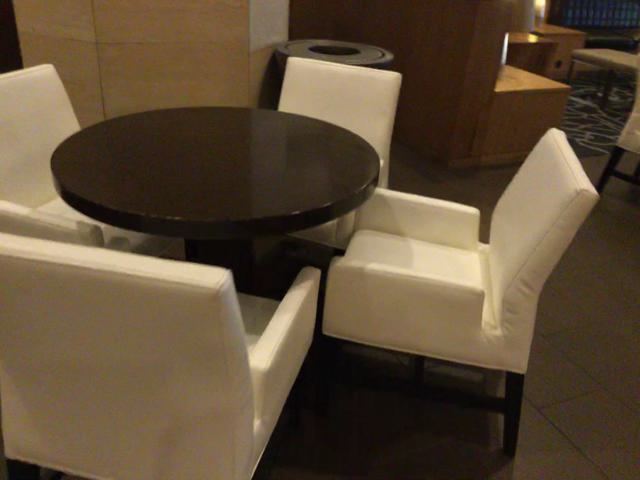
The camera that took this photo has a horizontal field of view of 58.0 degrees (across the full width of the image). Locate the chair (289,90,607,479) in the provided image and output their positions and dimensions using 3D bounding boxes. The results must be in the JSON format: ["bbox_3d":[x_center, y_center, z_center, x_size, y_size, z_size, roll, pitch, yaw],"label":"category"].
[{"bbox_3d":[0.360,0.090,1.760,0.670,0.840,0.650,14,31,15],"label":"chair"}]

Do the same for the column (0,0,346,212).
[{"bbox_3d":[-0.770,-0.930,2.890,1.480,1.040,0.920,-13,34,-28],"label":"column"}]

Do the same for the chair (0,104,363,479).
[{"bbox_3d":[-0.360,0.260,1.390,0.640,0.880,0.790,14,31,15],"label":"chair"}]

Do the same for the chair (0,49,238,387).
[{"bbox_3d":[-0.780,-0.130,1.930,0.780,0.760,0.680,14,31,15],"label":"chair"}]

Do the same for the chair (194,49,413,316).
[{"bbox_3d":[-0.050,-0.270,2.330,0.610,0.770,0.670,14,31,15],"label":"chair"}]
